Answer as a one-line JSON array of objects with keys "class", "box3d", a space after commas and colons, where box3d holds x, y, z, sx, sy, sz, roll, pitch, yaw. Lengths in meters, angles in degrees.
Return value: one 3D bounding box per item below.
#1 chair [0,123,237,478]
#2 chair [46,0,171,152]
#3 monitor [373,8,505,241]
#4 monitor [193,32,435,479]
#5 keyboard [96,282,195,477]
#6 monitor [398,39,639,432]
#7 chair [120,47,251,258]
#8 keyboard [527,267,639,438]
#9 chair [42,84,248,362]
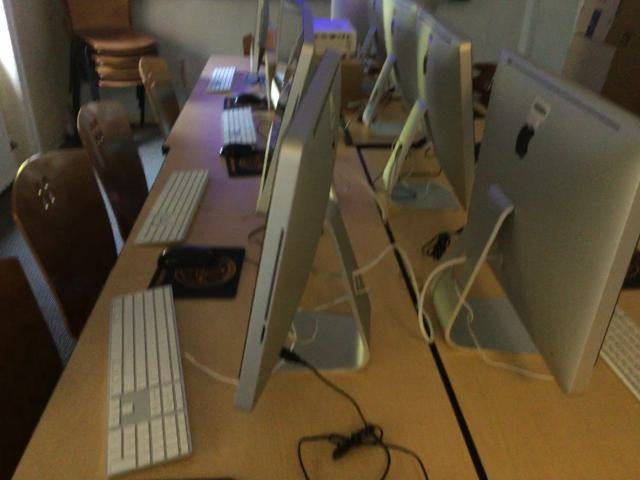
[{"class": "chair", "box3d": [-0.490, 0.150, 1.550, 0.460, 0.790, 0.500, -1, 29, -4]}, {"class": "chair", "box3d": [-1.290, -1.160, 3.540, 0.470, 1.060, 0.470, 28, 37, 37]}, {"class": "monitor", "box3d": [0.250, -0.290, 1.370, 0.160, 0.430, 0.420, -1, 29, -4]}, {"class": "monitor", "box3d": [0.000, -0.020, 0.850, 0.210, 0.450, 0.550, 2, 29, 1]}, {"class": "keyboard", "box3d": [-0.280, 0.190, 0.910, 0.120, 0.020, 0.400, -8, 30, -15]}, {"class": "monitor", "box3d": [0.280, -0.050, 0.930, 0.180, 0.430, 0.520, -1, 29, -4]}, {"class": "chair", "box3d": [-0.550, -0.400, 2.580, 0.430, 0.790, 0.530, -1, 29, -4]}, {"class": "keyboard", "box3d": [0.510, 0.170, 1.000, 0.140, 0.020, 0.430, -1, 29, -4]}, {"class": "chair", "box3d": [-0.510, -0.070, 1.940, 0.480, 0.770, 0.520, -1, 29, -4]}]
